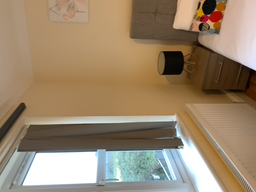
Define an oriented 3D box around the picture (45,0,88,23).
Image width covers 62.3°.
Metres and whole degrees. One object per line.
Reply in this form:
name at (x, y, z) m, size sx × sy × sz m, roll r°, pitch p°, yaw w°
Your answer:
picture at (-0.610, -1.050, 2.090) m, size 0.050 × 0.410 × 0.600 m, roll -104°, pitch 16°, yaw -64°
